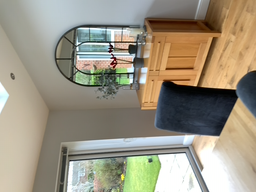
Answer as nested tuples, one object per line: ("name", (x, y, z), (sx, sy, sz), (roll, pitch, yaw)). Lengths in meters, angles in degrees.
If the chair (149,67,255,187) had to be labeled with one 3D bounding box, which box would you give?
("chair", (0.800, 0.170, 1.550), (0.640, 1.110, 0.520), (-105, 16, -54))
